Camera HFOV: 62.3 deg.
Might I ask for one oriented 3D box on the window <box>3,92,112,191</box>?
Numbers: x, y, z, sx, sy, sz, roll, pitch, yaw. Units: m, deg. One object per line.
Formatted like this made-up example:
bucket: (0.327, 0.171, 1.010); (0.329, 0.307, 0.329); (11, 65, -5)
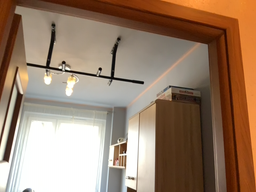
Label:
window: (-1.170, 0.940, 3.830); (1.620, 1.810, 0.200); (9, -18, -16)
